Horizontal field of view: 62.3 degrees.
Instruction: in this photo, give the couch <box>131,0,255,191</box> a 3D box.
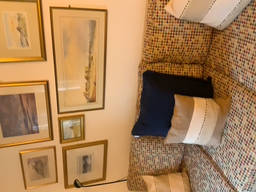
[{"bbox_3d":[0.640,0.110,1.710,1.180,0.650,2.270,-130,40,-57],"label":"couch"}]
